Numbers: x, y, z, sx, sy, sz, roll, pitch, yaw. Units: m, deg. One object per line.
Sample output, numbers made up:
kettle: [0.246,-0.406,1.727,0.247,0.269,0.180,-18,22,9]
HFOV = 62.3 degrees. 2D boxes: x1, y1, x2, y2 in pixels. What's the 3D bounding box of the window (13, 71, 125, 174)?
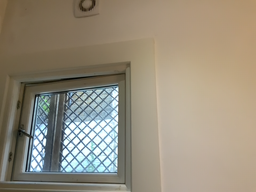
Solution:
window: [-0.420,0.190,1.570,0.800,0.720,0.060,-3,-18,10]
